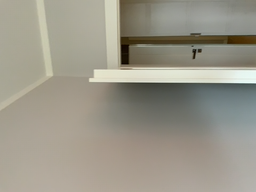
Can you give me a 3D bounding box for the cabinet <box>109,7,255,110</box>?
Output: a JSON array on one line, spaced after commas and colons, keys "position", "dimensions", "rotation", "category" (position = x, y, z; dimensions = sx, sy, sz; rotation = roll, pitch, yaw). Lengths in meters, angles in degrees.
[{"position": [0.890, -0.570, 3.310], "dimensions": [0.450, 2.300, 1.470], "rotation": [-80, -9, -75], "category": "cabinet"}]
